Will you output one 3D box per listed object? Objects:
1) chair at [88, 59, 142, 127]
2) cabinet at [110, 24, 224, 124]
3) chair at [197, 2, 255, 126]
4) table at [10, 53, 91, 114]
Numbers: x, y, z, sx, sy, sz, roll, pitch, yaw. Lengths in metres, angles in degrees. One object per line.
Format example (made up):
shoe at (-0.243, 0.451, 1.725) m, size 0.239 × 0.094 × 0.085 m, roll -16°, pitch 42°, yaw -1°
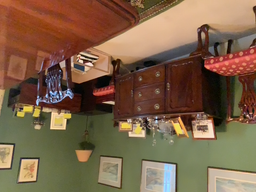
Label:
chair at (-0.200, -0.010, 3.490) m, size 0.610 × 0.950 × 0.550 m, roll 14°, pitch 163°, yaw -40°
cabinet at (0.440, -0.150, 2.790) m, size 0.600 × 0.940 × 1.330 m, roll 14°, pitch 163°, yaw -40°
chair at (1.100, -0.240, 2.100) m, size 0.550 × 0.990 × 0.560 m, roll 14°, pitch 163°, yaw -40°
table at (-1.300, -0.150, 3.670) m, size 0.610 × 0.740 × 1.070 m, roll -10°, pitch 162°, yaw 44°
